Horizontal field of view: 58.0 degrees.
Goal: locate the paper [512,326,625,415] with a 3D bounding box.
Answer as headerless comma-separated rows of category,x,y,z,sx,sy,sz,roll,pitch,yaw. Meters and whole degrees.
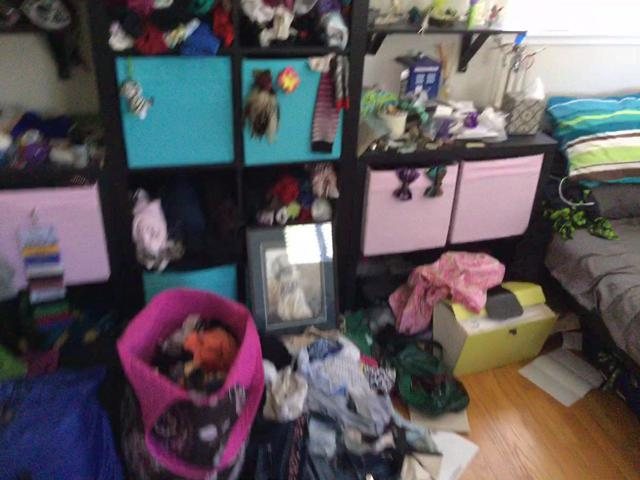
paper,0.930,0.470,2.150,0.420,0.050,0.240,-20,36,-41

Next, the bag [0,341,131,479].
bag,-0.730,0.530,1.550,0.390,0.380,0.300,-2,27,-14
